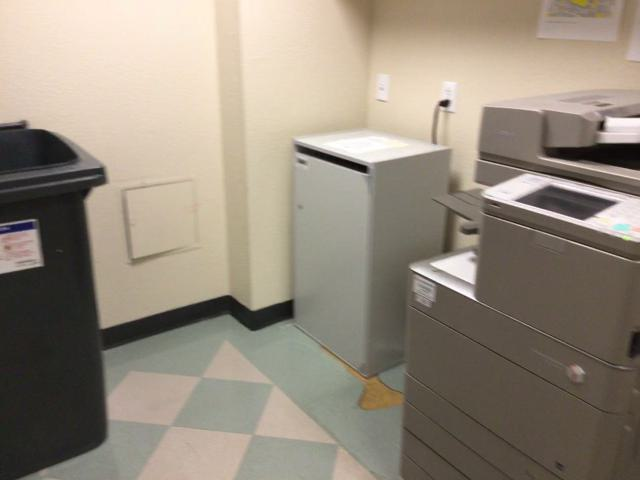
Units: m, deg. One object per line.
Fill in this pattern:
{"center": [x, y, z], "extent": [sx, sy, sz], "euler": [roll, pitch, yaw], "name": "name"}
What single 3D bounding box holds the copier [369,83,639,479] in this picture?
{"center": [0.680, 0.230, 1.540], "extent": [0.780, 1.210, 0.680], "euler": [-10, 22, -32], "name": "copier"}
